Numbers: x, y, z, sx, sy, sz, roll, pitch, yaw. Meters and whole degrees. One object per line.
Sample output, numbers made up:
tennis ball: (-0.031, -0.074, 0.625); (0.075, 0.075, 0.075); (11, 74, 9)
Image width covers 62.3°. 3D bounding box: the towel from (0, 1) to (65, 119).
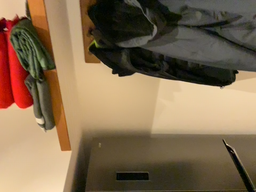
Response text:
towel: (-0.490, -0.170, 0.970); (0.380, 0.280, 0.390); (-94, 6, -51)
